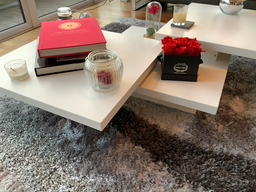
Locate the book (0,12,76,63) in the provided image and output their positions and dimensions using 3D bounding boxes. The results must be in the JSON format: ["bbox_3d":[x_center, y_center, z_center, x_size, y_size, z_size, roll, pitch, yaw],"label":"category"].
[{"bbox_3d":[-0.410,-0.290,1.000,0.290,0.100,0.310,-9,37,-11],"label":"book"}]
